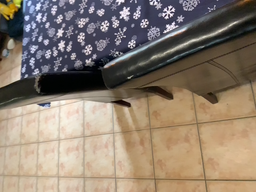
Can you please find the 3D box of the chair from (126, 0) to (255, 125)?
[{"bbox_3d":[0.460,-0.260,0.890,0.430,1.070,0.630,-19,71,30],"label":"chair"}]
